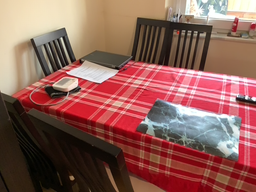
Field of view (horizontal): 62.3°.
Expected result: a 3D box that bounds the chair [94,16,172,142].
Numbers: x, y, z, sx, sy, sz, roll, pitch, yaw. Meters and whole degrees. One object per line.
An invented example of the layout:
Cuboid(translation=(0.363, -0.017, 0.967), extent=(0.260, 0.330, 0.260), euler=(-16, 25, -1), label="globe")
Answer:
Cuboid(translation=(0.070, -0.180, 2.040), extent=(0.410, 1.000, 0.590), euler=(17, 34, 28), label="chair")

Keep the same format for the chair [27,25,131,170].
Cuboid(translation=(-0.320, 0.010, 1.710), extent=(0.580, 1.000, 0.400), euler=(13, 32, 22), label="chair")

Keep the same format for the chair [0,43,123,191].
Cuboid(translation=(-0.370, 0.280, 1.240), extent=(0.420, 0.990, 0.580), euler=(17, 34, 28), label="chair")
